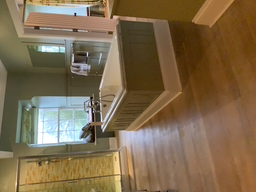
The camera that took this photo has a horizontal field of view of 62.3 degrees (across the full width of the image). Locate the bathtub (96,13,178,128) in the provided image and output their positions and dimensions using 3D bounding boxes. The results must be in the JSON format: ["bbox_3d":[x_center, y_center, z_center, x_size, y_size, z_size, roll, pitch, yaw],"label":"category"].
[{"bbox_3d":[-0.050,-0.180,3.160,1.890,0.610,0.900,125,141,-65],"label":"bathtub"}]
